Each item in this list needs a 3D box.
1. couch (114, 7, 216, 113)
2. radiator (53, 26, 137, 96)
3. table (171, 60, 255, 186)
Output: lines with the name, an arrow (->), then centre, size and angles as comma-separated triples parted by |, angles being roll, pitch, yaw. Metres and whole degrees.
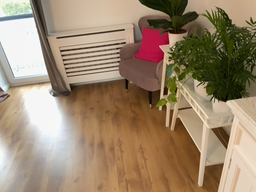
couch -> 0.370, -0.510, 2.700 | 0.920, 0.920, 1.000 | -8, 32, -5
radiator -> -0.420, -0.480, 3.040 | 1.040, 0.860, 0.190 | -8, 32, -5
table -> 0.710, 0.180, 1.760 | 0.480, 0.680, 0.720 | -8, 32, -4
